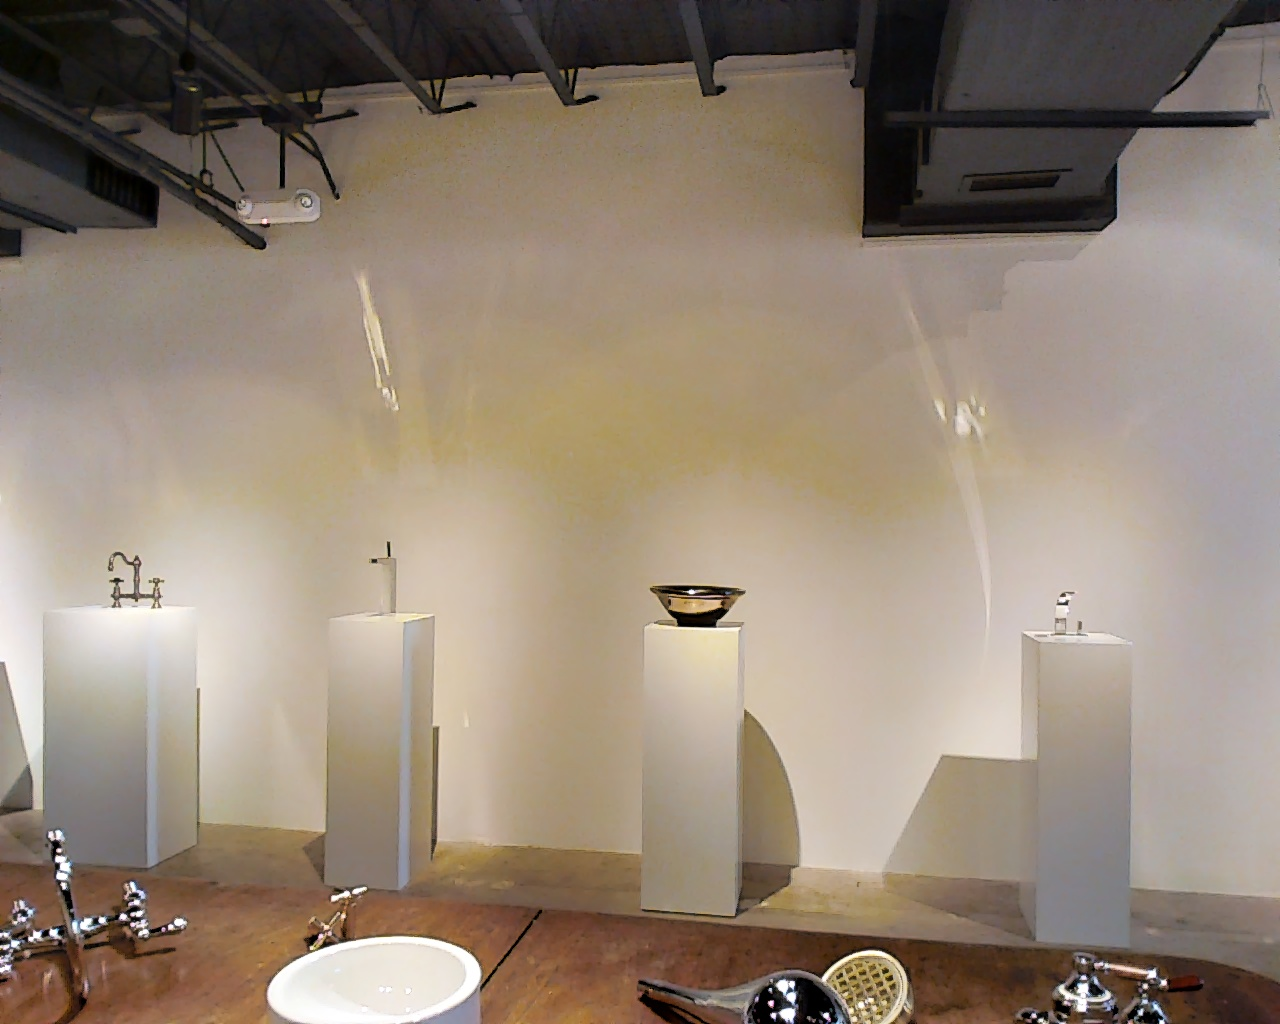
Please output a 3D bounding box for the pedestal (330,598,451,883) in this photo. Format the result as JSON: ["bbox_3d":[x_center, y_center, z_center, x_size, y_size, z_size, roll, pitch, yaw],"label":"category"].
[{"bbox_3d":[-1.040,0.930,4.520,0.350,1.100,0.410,1,0,11],"label":"pedestal"}]
